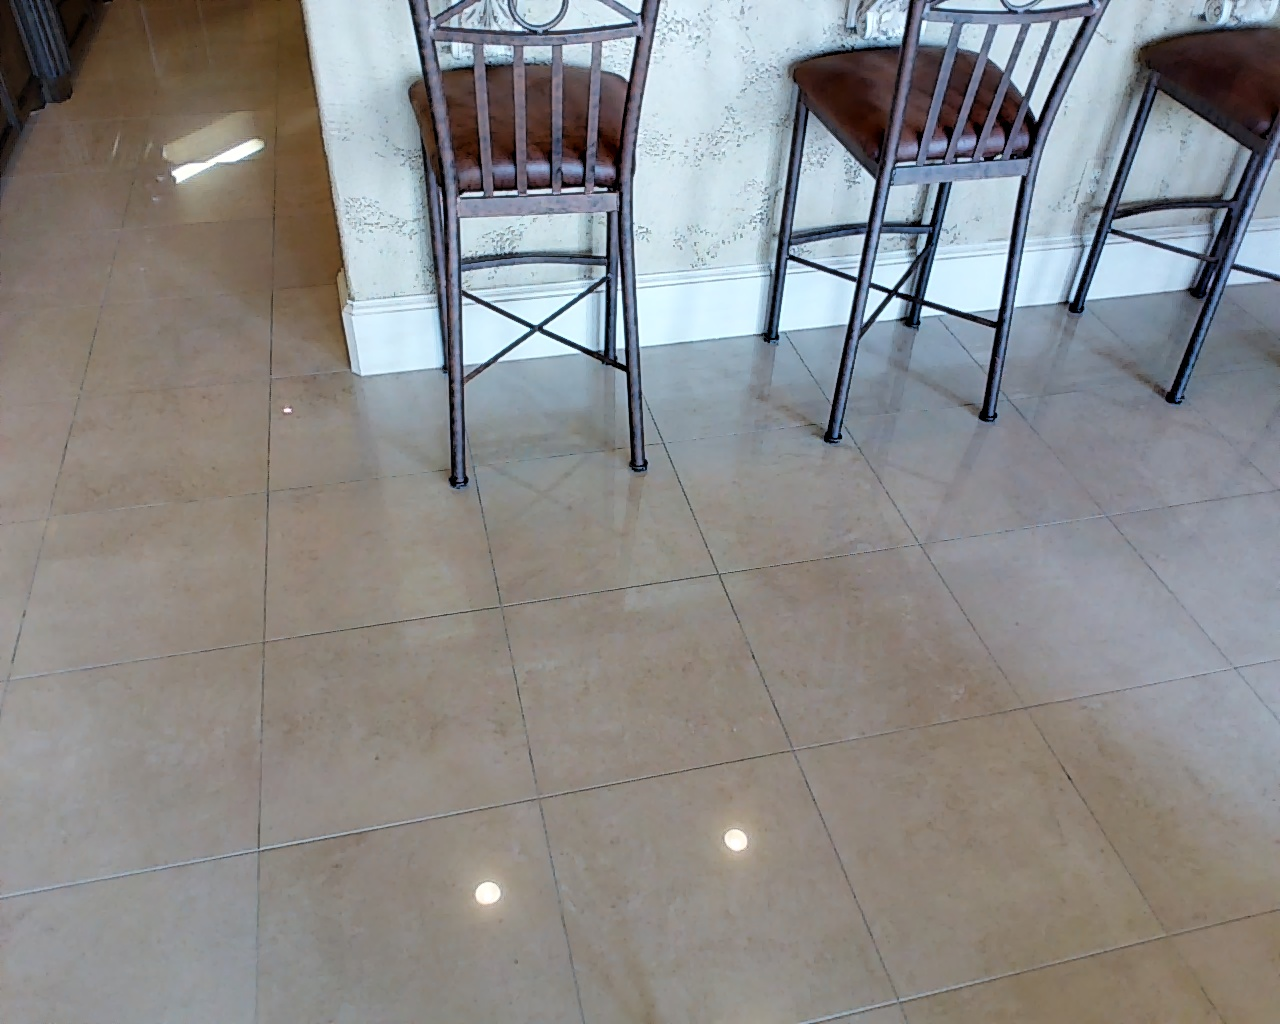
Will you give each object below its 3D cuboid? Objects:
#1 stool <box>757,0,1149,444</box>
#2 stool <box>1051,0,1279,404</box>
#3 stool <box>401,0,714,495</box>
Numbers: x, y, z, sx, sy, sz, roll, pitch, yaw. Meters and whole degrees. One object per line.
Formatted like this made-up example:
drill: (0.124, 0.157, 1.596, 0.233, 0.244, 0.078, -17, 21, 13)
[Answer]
stool: (0.640, -0.790, 2.410, 0.510, 1.150, 0.500, -8, 42, -11)
stool: (1.520, -0.900, 2.600, 0.510, 1.120, 0.530, -8, 42, -11)
stool: (-0.190, -0.660, 2.240, 0.500, 1.120, 0.520, -8, 42, -11)
